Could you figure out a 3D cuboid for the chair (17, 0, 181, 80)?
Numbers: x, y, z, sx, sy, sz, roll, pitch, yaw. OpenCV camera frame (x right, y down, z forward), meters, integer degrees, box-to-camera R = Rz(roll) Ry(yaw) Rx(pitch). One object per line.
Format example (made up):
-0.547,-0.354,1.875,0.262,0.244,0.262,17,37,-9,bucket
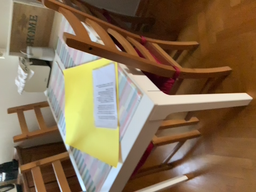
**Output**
-0.180,-0.420,1.520,0.380,1.010,0.450,53,130,38,chair

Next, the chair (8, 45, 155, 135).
-0.360,-0.050,1.750,0.390,1.030,0.470,54,131,37,chair
